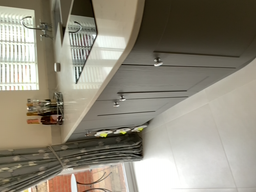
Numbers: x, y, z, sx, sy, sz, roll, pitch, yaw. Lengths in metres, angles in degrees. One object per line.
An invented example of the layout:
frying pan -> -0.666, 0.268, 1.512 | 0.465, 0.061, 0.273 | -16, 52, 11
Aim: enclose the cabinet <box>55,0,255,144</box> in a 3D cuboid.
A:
cabinet -> 0.040, -0.070, 1.640 | 2.010, 0.900, 0.400 | -43, 55, 57
